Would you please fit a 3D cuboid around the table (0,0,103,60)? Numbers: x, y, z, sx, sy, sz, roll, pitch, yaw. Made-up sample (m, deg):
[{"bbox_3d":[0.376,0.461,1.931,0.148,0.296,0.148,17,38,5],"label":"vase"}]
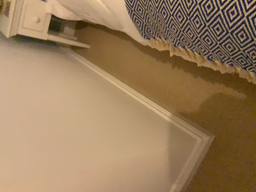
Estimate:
[{"bbox_3d":[-0.610,-0.560,1.660,0.400,0.640,0.340,37,113,39],"label":"table"}]
